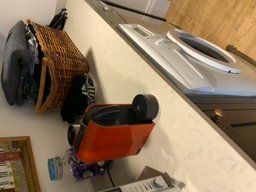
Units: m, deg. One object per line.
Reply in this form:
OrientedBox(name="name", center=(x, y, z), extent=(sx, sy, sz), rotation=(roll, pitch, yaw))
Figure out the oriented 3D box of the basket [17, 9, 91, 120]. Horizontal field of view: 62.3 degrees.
OrientedBox(name="basket", center=(-0.530, -0.230, 1.390), extent=(0.710, 0.250, 0.370), rotation=(55, 131, 40))
